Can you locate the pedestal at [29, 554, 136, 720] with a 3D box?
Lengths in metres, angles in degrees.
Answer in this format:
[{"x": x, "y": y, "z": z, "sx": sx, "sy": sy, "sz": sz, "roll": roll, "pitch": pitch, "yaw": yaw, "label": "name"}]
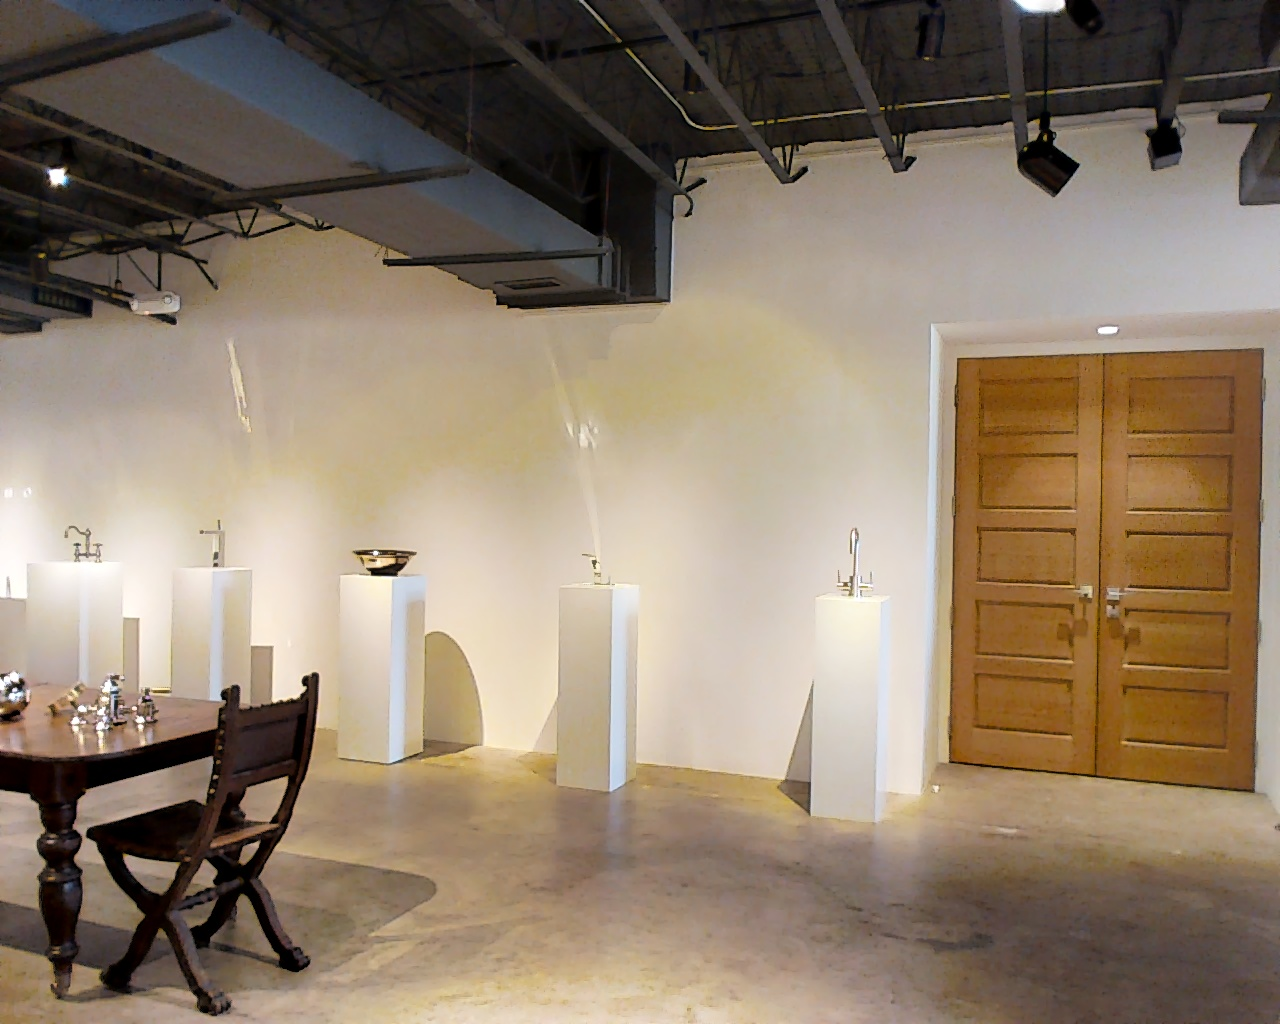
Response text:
[{"x": -3.850, "y": 0.840, "z": 7.410, "sx": 0.540, "sy": 1.070, "sz": 0.380, "roll": 1, "pitch": 0, "yaw": 22, "label": "pedestal"}]
